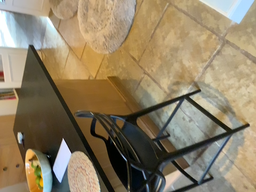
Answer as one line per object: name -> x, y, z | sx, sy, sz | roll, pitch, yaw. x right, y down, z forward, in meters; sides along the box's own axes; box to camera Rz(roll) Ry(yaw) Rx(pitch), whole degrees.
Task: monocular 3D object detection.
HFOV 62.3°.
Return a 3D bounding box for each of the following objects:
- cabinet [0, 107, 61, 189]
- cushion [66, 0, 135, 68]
cabinet -> -1.760, 0.840, 3.450 | 0.600, 0.880, 1.140 | 50, 127, 32
cushion -> -0.320, -0.970, 2.270 | 0.920, 0.070, 0.960 | 51, 127, 32
